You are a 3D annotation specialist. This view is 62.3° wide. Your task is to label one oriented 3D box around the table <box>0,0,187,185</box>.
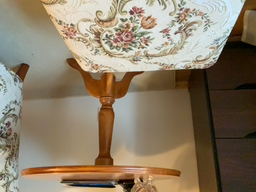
[{"bbox_3d":[-0.100,0.050,0.970,0.600,0.630,0.600,-2,156,8],"label":"table"}]
